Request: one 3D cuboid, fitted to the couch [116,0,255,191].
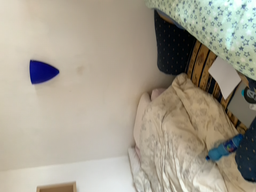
[{"bbox_3d":[0.620,-0.280,1.490,1.410,1.020,0.970,-116,29,-52],"label":"couch"}]
